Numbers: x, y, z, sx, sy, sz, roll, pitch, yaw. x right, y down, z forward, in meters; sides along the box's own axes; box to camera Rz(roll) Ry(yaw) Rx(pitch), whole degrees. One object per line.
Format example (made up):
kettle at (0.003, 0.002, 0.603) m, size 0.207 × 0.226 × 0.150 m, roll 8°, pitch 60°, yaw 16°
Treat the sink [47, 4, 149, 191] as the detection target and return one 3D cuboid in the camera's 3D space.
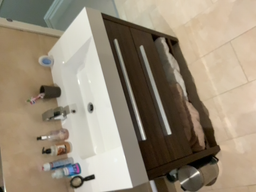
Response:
sink at (-0.220, 0.030, 1.170) m, size 0.470 × 0.110 × 0.900 m, roll -29°, pitch 71°, yaw 41°
